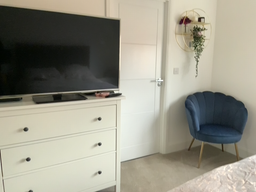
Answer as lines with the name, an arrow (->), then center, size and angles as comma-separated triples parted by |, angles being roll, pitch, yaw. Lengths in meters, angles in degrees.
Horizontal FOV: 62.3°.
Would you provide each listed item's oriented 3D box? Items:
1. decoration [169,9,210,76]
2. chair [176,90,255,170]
decoration -> 0.850, -0.710, 2.930 | 0.560, 0.840, 0.110 | -4, 11, -26
chair -> 1.070, 0.390, 2.760 | 0.740, 0.840, 0.660 | 2, 10, 3
